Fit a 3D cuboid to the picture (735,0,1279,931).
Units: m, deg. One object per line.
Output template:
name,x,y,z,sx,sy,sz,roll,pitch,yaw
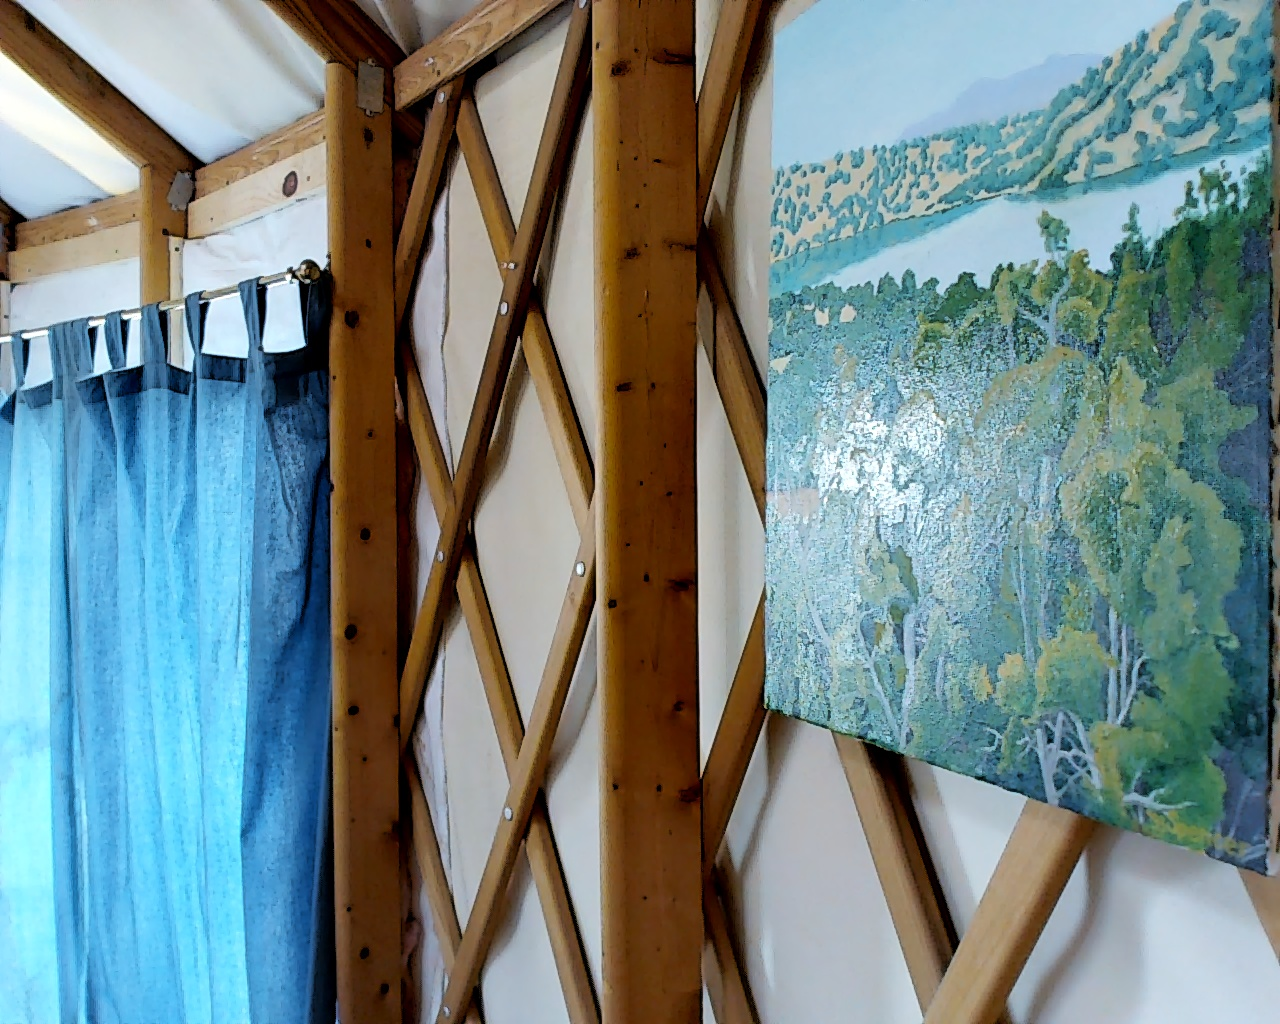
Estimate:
picture,0.190,-0.110,0.630,0.050,0.550,0.440,1,0,-25
